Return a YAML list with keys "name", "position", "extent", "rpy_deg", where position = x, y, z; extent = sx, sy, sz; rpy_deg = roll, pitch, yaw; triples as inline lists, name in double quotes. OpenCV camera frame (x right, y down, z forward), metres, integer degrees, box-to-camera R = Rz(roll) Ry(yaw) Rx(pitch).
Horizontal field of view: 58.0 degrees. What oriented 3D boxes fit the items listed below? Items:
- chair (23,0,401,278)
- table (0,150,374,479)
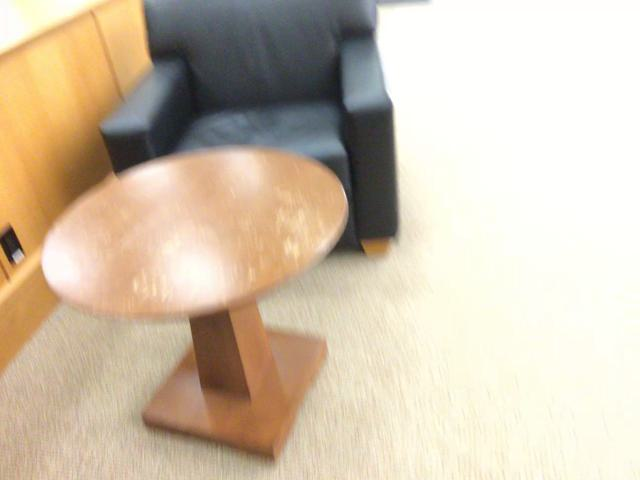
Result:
- name: "chair"
  position: [-0.230, -0.480, 2.070]
  extent: [0.970, 0.820, 0.880]
  rpy_deg: [-3, 35, 7]
- name: "table"
  position: [-0.280, 0.190, 1.460]
  extent: [0.690, 0.580, 0.660]
  rpy_deg: [3, 36, 16]
